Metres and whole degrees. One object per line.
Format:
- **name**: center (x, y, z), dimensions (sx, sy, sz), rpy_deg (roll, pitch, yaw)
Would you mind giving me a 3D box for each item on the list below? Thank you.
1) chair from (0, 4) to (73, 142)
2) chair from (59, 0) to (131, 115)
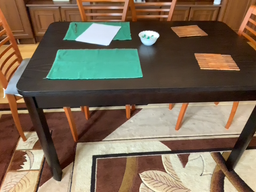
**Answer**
- **chair**: center (-0.730, -0.130, 1.520), dimensions (0.490, 0.890, 0.430), rpy_deg (-1, 40, -4)
- **chair**: center (-0.240, -0.340, 1.810), dimensions (0.450, 0.870, 0.520), rpy_deg (-2, 40, -5)
